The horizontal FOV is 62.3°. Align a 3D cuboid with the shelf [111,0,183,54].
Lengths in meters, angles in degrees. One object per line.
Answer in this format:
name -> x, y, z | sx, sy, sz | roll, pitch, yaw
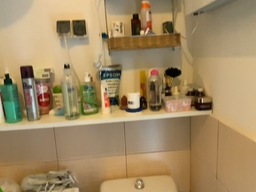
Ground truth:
shelf -> 0.080, -0.360, 0.960 | 0.300, 0.320, 0.120 | -4, 12, -6
